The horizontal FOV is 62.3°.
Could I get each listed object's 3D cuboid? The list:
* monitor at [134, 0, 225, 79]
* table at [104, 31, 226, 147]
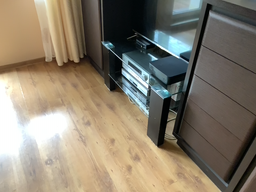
[{"bbox_3d":[0.310,-0.590,1.640,0.040,0.570,0.870,-19,42,-25],"label":"monitor"},{"bbox_3d":[0.240,-0.140,1.930,0.560,0.500,0.950,-17,42,-23],"label":"table"}]
